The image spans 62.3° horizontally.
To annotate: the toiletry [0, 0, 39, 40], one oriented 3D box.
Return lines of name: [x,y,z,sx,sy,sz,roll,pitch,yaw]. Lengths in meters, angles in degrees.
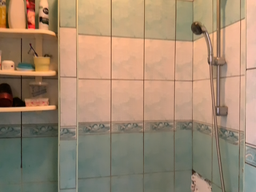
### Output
toiletry: [-0.620,-0.440,1.090,0.290,0.260,0.090,0,1,-13]
